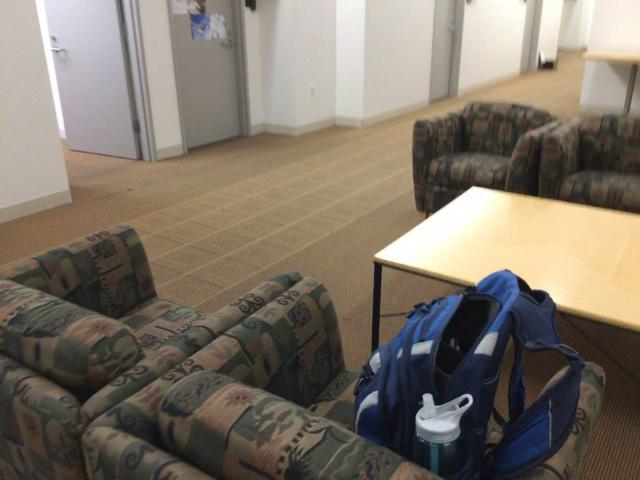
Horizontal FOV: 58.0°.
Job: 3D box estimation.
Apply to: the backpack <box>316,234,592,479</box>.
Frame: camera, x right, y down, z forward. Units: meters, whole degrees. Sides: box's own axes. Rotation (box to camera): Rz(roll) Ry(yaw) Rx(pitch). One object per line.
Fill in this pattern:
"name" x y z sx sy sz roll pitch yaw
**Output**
"backpack" 0.240 0.270 1.050 0.360 0.400 0.350 13 29 27
